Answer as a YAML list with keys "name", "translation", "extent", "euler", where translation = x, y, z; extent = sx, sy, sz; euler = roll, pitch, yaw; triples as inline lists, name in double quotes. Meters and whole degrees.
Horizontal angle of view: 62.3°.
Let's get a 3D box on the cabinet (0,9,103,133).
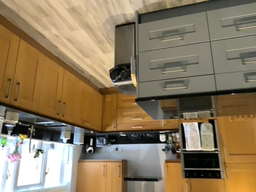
- name: "cabinet"
  translation: [-1.150, -0.070, 2.930]
  extent: [0.610, 0.890, 2.460]
  euler: [-5, 163, 17]
